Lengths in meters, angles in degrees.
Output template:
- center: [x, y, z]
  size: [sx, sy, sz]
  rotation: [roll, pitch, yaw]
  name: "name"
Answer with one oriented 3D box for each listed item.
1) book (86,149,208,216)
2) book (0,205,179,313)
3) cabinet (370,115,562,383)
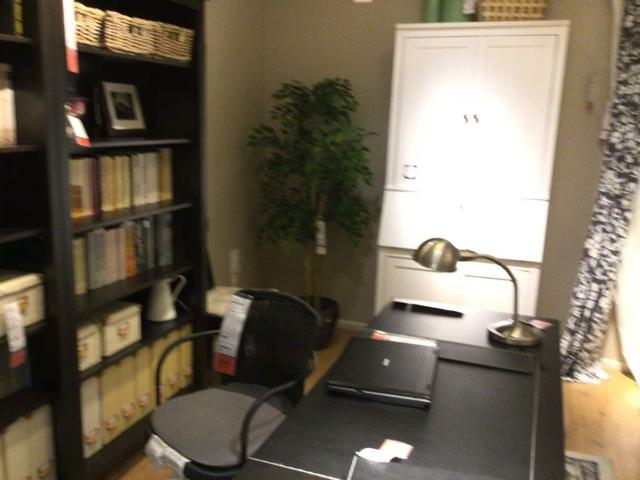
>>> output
- center: [-0.700, -0.250, 2.390]
  size: [0.280, 0.230, 0.400]
  rotation: [5, 13, 24]
  name: "book"
- center: [-1.000, 0.040, 2.380]
  size: [0.380, 0.240, 0.820]
  rotation: [5, 13, 24]
  name: "book"
- center: [0.820, 0.000, 3.330]
  size: [0.940, 1.400, 0.450]
  rotation: [5, 13, 24]
  name: "cabinet"
